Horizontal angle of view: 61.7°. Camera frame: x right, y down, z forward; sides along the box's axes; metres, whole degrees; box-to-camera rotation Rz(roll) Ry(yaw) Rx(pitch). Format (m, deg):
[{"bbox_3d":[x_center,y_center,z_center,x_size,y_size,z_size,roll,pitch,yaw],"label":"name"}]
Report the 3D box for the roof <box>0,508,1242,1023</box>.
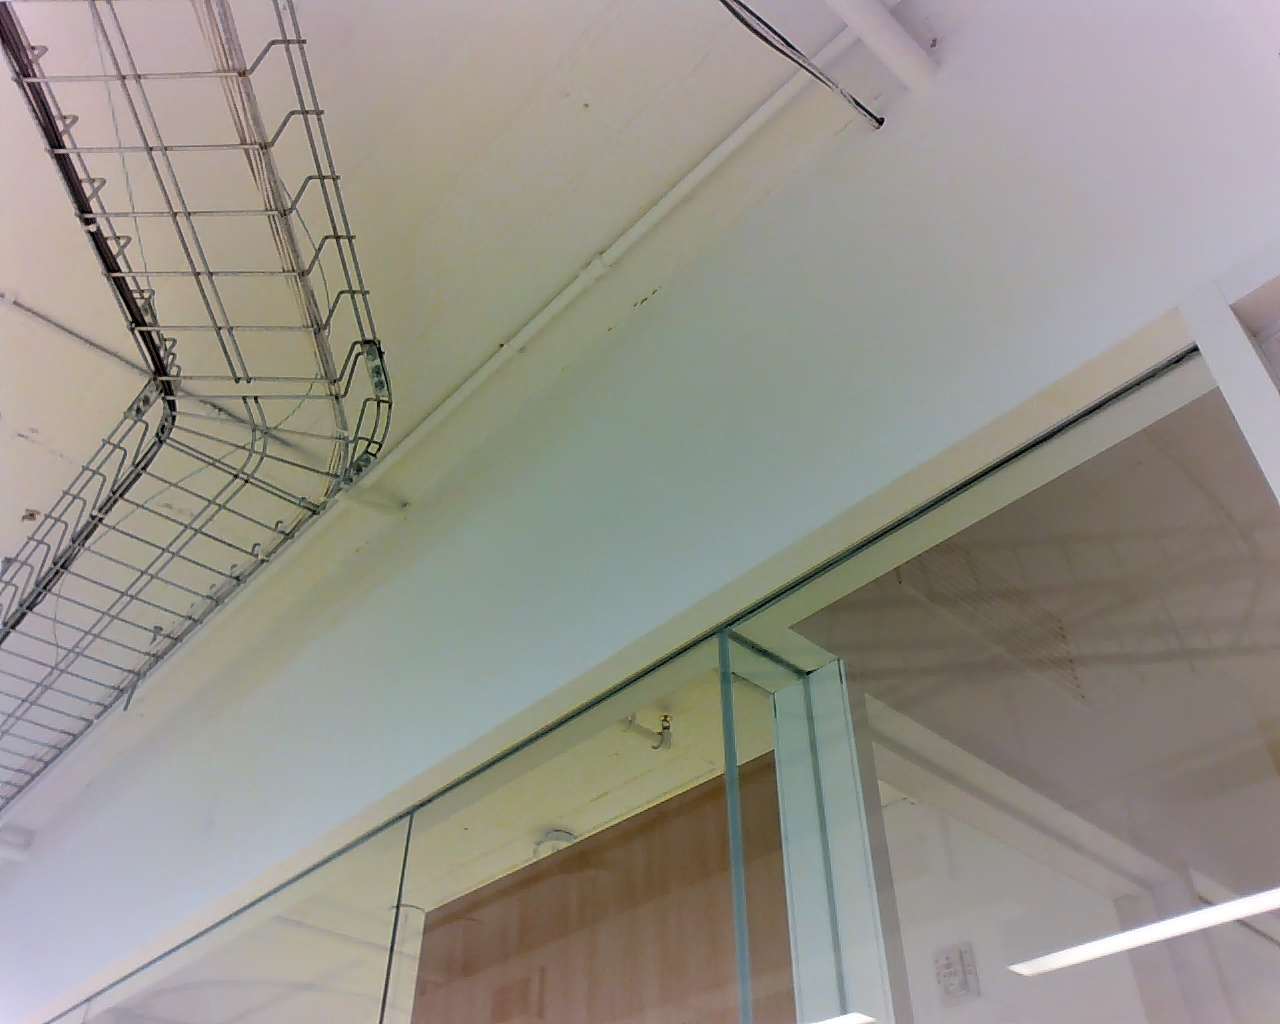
[{"bbox_3d":[0.160,2.031,4.530,5.729,0.170,2.720,32,-51,-30],"label":"roof"}]
